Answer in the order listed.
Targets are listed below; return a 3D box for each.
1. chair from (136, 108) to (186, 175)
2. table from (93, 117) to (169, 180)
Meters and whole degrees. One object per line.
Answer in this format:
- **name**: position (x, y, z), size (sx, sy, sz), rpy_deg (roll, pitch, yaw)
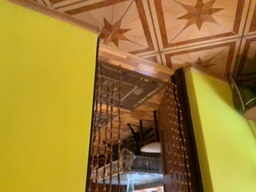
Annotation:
- **chair**: position (0.430, 0.640, 2.940), size (0.410, 0.770, 0.480), rpy_deg (15, 148, -27)
- **table**: position (0.000, 0.930, 3.520), size (0.730, 0.710, 1.130), rpy_deg (15, 148, -27)
